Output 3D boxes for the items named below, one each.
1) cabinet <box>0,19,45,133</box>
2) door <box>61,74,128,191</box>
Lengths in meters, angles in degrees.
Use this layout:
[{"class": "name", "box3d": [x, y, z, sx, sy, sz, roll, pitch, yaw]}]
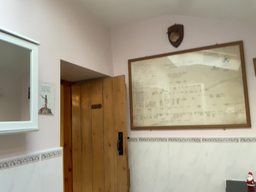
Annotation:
[{"class": "cabinet", "box3d": [-0.690, -0.100, 0.930, 0.130, 0.540, 0.740, -5, -6, 22]}, {"class": "door", "box3d": [-0.380, 0.780, 2.210, 0.890, 1.910, 0.070, -7, -7, 36]}]
